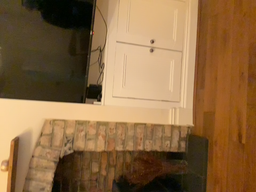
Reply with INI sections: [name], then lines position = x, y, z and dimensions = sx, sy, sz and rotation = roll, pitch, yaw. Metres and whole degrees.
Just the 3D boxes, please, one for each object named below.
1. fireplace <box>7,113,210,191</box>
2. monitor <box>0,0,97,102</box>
[fireplace]
position = -0.170, 1.030, 1.740
dimensions = 0.640, 1.400, 1.660
rotation = 176, 99, -73
[monitor]
position = -0.570, -0.500, 1.440
dimensions = 0.040, 0.660, 1.100
rotation = -126, 44, -65
